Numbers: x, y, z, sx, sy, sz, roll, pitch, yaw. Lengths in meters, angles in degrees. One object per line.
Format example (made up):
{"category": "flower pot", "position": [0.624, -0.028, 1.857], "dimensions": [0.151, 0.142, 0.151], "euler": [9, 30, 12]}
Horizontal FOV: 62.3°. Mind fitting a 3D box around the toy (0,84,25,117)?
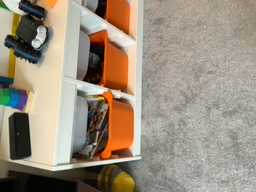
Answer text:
{"category": "toy", "position": [-0.570, 0.000, 0.860], "dimensions": [0.240, 0.170, 0.110], "euler": [10, 87, 39]}
